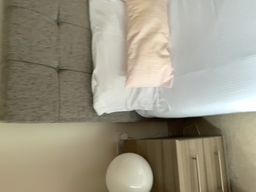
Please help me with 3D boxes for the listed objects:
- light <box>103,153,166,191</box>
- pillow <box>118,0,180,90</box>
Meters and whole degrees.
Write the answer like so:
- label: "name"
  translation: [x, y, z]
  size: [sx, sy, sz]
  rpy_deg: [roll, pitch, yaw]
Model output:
- label: "light"
  translation: [0.030, 0.440, 1.130]
  size: [0.250, 0.210, 0.230]
  rpy_deg: [-14, 76, 49]
- label: "pillow"
  translation: [0.110, -0.340, 1.100]
  size: [0.210, 0.300, 0.540]
  rpy_deg: [-9, 75, 21]
